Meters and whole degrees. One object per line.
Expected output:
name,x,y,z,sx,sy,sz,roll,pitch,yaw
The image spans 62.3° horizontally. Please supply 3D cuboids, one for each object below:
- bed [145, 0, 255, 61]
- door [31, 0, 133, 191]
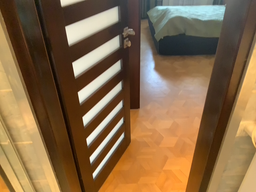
bed,1.550,-1.350,4.120,2.270,0.600,1.690,-1,34,-1
door,-0.150,-0.310,1.180,0.100,2.130,0.780,12,36,18
